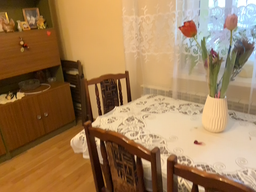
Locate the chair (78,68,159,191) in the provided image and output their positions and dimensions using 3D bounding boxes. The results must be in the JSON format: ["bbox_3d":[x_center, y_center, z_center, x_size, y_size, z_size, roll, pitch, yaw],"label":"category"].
[{"bbox_3d":[-0.070,0.300,1.760,0.430,0.930,0.490,-13,23,-24],"label":"chair"}]

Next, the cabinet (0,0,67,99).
[{"bbox_3d":[-1.270,-0.850,2.270,0.370,1.560,0.910,15,28,38],"label":"cabinet"}]

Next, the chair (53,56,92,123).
[{"bbox_3d":[-0.780,-0.100,2.990,0.500,0.870,0.130,13,27,38],"label":"chair"}]

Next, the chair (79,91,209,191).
[{"bbox_3d":[0.120,0.510,1.190,0.420,0.920,0.490,13,27,38],"label":"chair"}]
